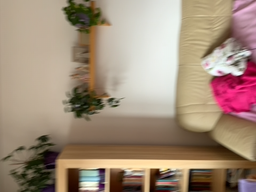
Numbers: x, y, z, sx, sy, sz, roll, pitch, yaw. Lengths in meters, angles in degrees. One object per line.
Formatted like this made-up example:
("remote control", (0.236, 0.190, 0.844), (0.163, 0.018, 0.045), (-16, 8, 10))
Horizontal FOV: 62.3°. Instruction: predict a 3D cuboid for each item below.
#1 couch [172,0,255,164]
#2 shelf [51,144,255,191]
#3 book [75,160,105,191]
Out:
("couch", (0.970, -0.770, 1.850), (0.820, 0.820, 2.480), (-133, 45, -83))
("shelf", (0.310, 0.900, 2.140), (0.430, 2.000, 0.700), (-133, 45, -83))
("book", (-0.370, 0.810, 2.100), (0.180, 0.270, 0.290), (-127, 39, -82))
